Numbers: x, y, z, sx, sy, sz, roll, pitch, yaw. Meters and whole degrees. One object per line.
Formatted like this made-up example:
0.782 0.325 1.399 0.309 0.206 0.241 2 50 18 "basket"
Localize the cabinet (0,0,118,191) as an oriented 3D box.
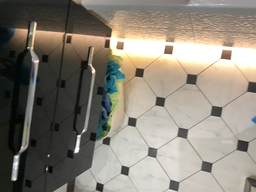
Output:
-0.390 -0.020 0.750 0.440 0.600 0.620 10 94 18 "cabinet"
